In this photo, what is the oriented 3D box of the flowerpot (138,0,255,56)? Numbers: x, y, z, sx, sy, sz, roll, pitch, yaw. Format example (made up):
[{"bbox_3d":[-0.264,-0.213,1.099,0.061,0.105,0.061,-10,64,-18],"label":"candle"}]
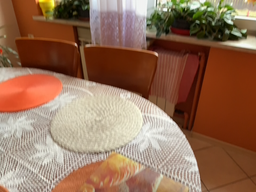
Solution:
[{"bbox_3d":[0.580,-0.620,1.640,0.870,0.310,0.490,17,37,24],"label":"flowerpot"}]
